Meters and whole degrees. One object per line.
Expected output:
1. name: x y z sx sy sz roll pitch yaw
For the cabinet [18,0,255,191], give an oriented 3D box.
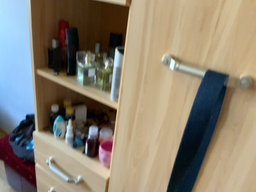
1. cabinet: 0.080 -0.020 0.790 0.790 1.980 0.470 22 30 24
